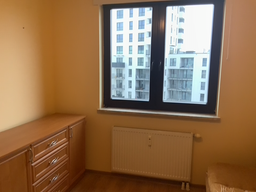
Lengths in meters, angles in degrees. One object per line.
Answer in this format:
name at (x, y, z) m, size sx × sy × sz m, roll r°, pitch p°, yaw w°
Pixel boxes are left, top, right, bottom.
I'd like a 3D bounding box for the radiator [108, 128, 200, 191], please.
radiator at (0.300, 0.780, 2.700) m, size 1.120 × 0.610 × 0.160 m, roll 3°, pitch 9°, yaw 15°
